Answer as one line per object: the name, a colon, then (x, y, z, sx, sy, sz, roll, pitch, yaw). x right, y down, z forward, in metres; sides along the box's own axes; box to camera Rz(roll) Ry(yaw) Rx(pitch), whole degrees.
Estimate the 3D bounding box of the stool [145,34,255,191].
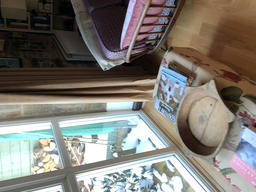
stool: (0.580, 0.060, 1.260, 1.010, 0.410, 0.520, 51, 135, 48)
